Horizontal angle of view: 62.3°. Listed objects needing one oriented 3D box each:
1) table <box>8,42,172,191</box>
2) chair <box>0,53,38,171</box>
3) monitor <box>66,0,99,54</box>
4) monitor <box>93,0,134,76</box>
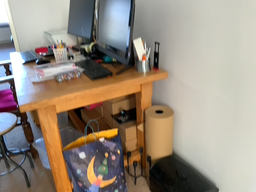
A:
[{"bbox_3d":[-0.400,0.060,1.800,0.860,0.750,1.270,-15,28,-26],"label":"table"},{"bbox_3d":[-1.100,0.140,1.630,0.500,0.800,0.420,-21,31,-35],"label":"chair"},{"bbox_3d":[-0.430,-0.640,1.920,0.050,0.420,0.520,-2,21,-36],"label":"monitor"},{"bbox_3d":[-0.110,-0.420,1.410,0.040,0.420,0.590,-13,26,-21],"label":"monitor"}]
